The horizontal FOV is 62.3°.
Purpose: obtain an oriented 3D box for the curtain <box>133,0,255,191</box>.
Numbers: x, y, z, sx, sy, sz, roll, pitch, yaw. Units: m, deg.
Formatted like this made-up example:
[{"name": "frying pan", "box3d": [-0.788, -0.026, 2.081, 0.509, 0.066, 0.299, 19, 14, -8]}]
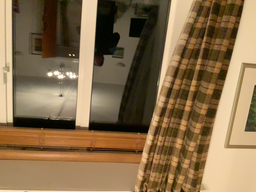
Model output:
[{"name": "curtain", "box3d": [0.400, -0.220, 1.130, 0.510, 2.000, 0.190, 5, -166, -7]}]
